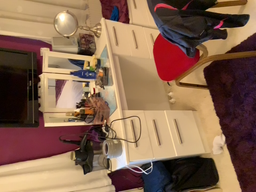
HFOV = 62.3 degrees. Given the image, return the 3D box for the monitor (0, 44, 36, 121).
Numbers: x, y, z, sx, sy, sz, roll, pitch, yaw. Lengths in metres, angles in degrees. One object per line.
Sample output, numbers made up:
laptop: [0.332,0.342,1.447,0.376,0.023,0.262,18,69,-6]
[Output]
monitor: [-0.970,-0.140,1.610,0.040,0.500,0.760,114,147,-46]
